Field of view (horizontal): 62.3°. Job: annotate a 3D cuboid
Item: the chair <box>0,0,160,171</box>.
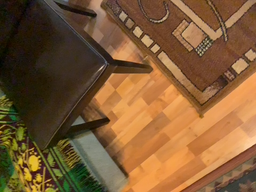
[{"bbox_3d":[-0.410,-0.160,0.790,0.460,0.940,0.640,-47,74,24],"label":"chair"}]
